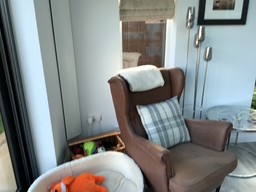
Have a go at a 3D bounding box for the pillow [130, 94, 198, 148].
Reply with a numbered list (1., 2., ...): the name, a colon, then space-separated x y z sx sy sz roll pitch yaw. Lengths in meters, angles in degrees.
1. pillow: 0.330 0.240 1.910 0.470 0.380 0.220 12 23 -43

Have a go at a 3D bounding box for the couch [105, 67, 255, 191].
1. couch: 0.380 0.350 1.840 0.780 0.980 0.930 -12 22 -31
